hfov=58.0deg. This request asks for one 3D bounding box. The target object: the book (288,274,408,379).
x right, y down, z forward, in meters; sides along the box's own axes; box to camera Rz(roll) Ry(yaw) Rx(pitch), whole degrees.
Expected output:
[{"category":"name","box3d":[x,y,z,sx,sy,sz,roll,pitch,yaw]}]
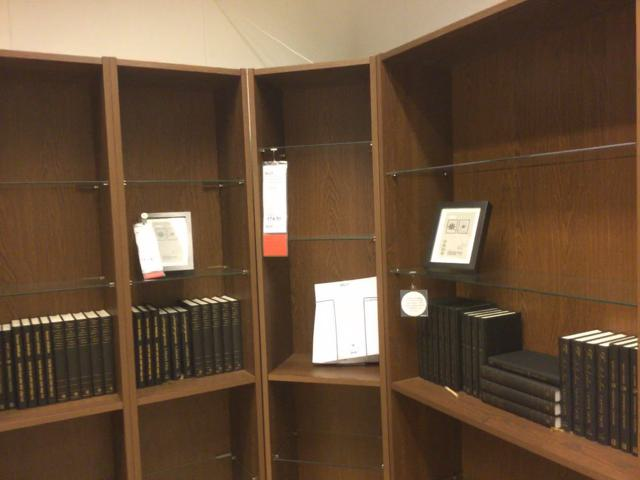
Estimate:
[{"category":"book","box3d":[0.100,0.270,1.900,0.310,0.280,0.260,-2,4,23]}]

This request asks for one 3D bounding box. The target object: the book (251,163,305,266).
[{"category":"book","box3d":[-0.130,-0.080,1.770,0.130,0.300,0.090,-5,4,-16]}]

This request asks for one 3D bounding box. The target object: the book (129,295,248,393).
[{"category":"book","box3d":[-0.420,0.320,1.850,0.320,0.230,0.170,-6,4,-29]}]

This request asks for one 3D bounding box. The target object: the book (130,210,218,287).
[{"category":"book","box3d":[-0.460,0.020,1.810,0.210,0.210,0.190,-6,4,-29]}]

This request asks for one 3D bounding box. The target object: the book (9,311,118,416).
[{"category":"book","box3d":[-0.750,0.350,1.690,0.260,0.230,0.160,-6,4,-29]}]

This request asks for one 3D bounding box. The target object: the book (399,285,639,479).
[{"category":"book","box3d":[0.510,0.290,1.390,0.220,0.270,0.740,-6,4,-29]}]
